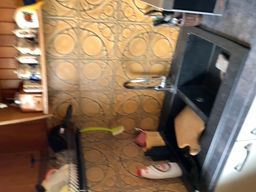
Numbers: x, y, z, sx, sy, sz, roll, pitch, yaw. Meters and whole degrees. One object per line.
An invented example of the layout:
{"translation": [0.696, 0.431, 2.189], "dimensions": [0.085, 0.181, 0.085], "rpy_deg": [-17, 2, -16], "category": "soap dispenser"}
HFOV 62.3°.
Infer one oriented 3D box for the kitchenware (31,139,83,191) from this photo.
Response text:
{"translation": [-0.340, 0.420, 1.040], "dimensions": [0.400, 0.210, 0.180], "rpy_deg": [-120, 33, -58], "category": "kitchenware"}
